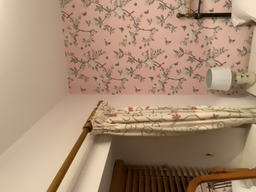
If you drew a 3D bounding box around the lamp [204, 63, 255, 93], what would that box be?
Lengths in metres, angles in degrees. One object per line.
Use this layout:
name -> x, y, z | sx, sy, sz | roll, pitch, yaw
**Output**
lamp -> 1.000, -0.180, 2.090 | 0.190, 0.420, 0.250 | -79, -12, -72
